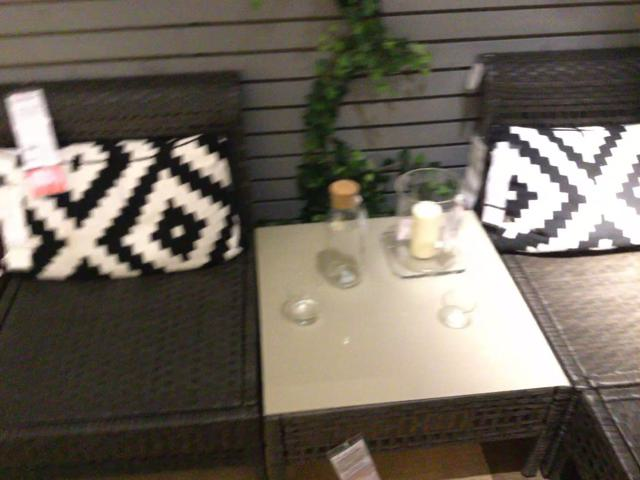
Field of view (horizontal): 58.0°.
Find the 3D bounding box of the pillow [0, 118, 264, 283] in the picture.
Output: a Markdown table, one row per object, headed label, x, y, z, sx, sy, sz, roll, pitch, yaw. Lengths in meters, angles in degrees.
| label | x | y | z | sx | sy | sz | roll | pitch | yaw |
| --- | --- | --- | --- | --- | --- | --- | --- | --- | --- |
| pillow | -0.480 | -0.100 | 1.460 | 0.650 | 0.330 | 0.220 | -2 | 34 | -2 |
